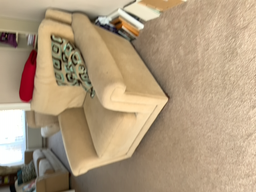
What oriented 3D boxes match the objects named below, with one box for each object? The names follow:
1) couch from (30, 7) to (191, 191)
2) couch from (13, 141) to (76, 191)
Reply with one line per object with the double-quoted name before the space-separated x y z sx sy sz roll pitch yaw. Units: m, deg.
"couch" -0.320 0.070 1.900 0.940 0.860 1.190 61 140 36
"couch" -2.000 1.880 4.820 2.280 0.940 1.050 5 97 58
